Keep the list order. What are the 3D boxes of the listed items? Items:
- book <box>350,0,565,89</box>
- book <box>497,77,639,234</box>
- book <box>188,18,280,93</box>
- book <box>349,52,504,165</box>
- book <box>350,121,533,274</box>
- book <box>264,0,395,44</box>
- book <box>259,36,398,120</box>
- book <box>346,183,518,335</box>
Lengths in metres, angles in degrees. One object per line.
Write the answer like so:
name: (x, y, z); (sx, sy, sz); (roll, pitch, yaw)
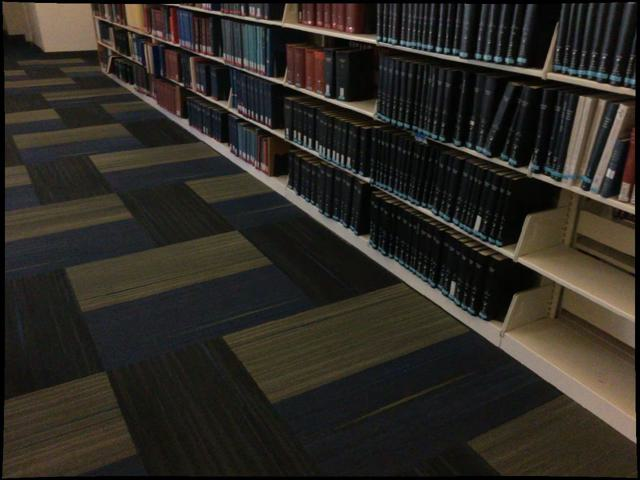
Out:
book: (0.459, -0.852, 2.250); (0.130, 0.341, 1.040); (-15, 29, -27)
book: (0.888, -0.301, 1.870); (0.270, 0.351, 0.520); (-15, 29, -27)
book: (-0.608, -1.273, 3.890); (0.150, 0.351, 1.160); (-15, 29, -27)
book: (0.399, -0.571, 2.390); (0.150, 0.311, 0.770); (-15, 29, -27)
book: (0.459, -0.231, 2.500); (0.130, 0.361, 0.990); (-15, 29, -27)
book: (0.020, -1.243, 3.080); (0.280, 0.271, 0.870); (-15, 29, -27)
book: (0.010, -0.922, 3.180); (0.280, 0.291, 0.980); (-15, 29, -27)
book: (0.449, 0.040, 2.630); (0.140, 0.311, 0.990); (-15, 29, -27)
